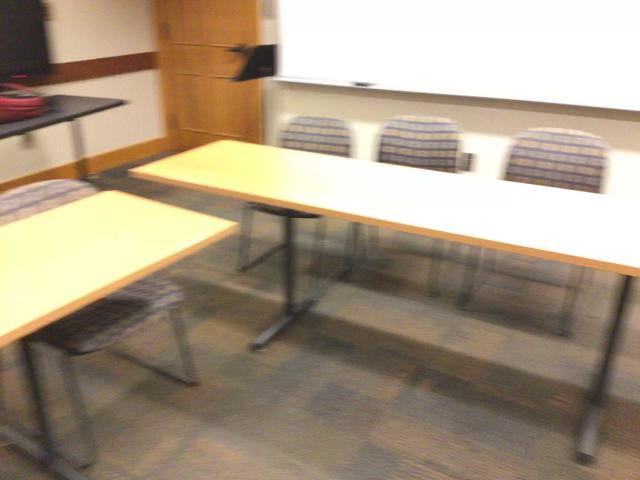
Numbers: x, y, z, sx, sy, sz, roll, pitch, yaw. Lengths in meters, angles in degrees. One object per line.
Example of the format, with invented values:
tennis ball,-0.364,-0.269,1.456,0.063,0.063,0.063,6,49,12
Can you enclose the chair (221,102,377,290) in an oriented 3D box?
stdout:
chair,-0.080,-0.250,2.890,0.530,0.730,0.550,13,28,28

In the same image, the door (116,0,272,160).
door,-1.010,-1.410,4.610,1.230,1.360,0.280,13,28,28

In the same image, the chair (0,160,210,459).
chair,-0.770,0.190,1.930,0.520,0.740,0.500,13,28,28
